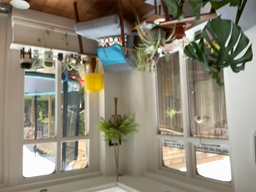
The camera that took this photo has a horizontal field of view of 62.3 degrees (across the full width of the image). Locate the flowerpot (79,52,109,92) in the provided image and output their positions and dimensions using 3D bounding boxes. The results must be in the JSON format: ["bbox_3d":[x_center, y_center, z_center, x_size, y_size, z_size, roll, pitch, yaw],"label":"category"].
[{"bbox_3d":[-0.530,-0.350,3.280,0.340,0.530,0.310,-7,173,44],"label":"flowerpot"}]
